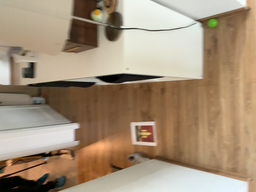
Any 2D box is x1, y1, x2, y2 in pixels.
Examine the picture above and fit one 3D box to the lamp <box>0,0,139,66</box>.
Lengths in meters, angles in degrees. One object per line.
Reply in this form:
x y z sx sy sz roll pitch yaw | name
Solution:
-0.290 -0.320 0.920 0.410 0.540 0.300 0 91 45 | lamp
